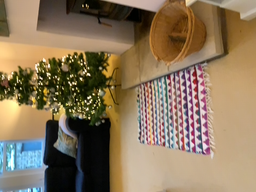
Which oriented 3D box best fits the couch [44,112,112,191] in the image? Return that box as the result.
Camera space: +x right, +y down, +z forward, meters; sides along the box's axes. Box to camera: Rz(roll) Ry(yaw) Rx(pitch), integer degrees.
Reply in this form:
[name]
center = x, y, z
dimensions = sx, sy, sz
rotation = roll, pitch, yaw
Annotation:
[couch]
center = -0.790, 1.350, 3.200
dimensions = 0.930, 0.810, 2.180
rotation = -13, 77, 63
